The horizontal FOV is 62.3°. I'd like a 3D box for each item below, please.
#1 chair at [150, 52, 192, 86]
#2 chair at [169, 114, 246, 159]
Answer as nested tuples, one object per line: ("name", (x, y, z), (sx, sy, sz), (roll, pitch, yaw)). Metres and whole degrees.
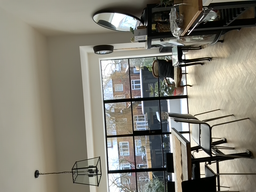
("chair", (0.990, -0.670, 5.070), (0.720, 0.820, 0.570), (-92, -1, -65))
("chair", (1.010, 0.510, 2.800), (0.420, 0.840, 0.450), (-83, -10, -86))
